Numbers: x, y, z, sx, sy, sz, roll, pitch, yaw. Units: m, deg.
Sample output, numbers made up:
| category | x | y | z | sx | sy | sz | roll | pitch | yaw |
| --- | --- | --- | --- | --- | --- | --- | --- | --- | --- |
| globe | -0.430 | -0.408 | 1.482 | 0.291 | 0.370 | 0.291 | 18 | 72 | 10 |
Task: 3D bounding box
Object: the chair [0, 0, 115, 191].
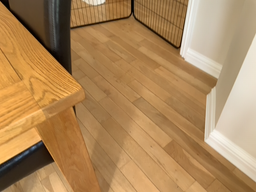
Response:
| category | x | y | z | sx | sy | sz | roll | pitch | yaw |
| --- | --- | --- | --- | --- | --- | --- | --- | --- | --- |
| chair | -0.470 | 0.020 | 0.810 | 0.620 | 1.030 | 0.440 | -31 | 53 | -25 |
